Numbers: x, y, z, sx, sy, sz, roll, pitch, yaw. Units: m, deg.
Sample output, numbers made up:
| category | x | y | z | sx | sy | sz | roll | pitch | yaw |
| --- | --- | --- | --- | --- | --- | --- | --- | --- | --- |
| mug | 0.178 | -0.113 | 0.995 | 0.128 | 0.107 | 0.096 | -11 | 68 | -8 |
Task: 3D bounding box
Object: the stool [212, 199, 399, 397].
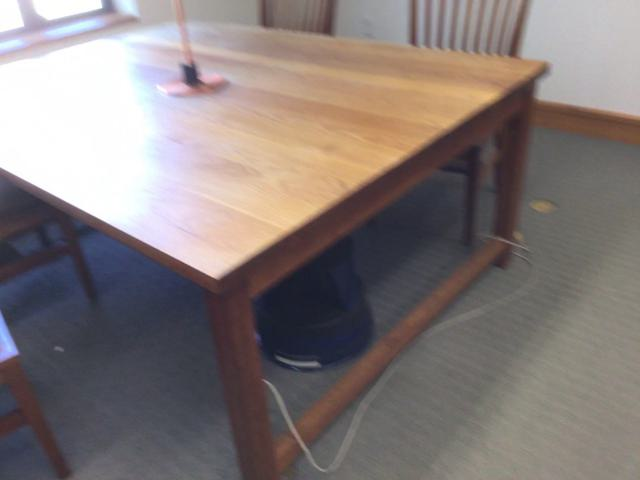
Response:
| category | x | y | z | sx | sy | sz | roll | pitch | yaw |
| --- | --- | --- | --- | --- | --- | --- | --- | --- | --- |
| stool | -0.030 | 0.160 | 1.860 | 0.340 | 0.420 | 0.410 | 14 | 35 | 43 |
